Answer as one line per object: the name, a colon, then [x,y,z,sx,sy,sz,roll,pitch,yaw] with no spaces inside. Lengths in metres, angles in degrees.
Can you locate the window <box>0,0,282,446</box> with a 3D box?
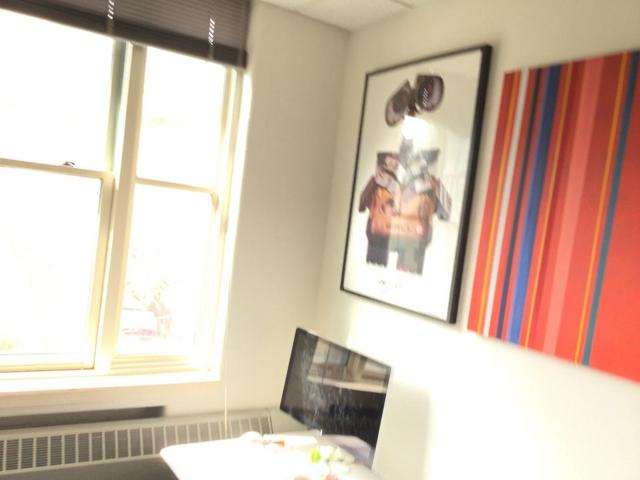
window: [-1.270,-0.230,2.090,2.080,1.880,0.370,7,3,-31]

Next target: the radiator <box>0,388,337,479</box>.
radiator: [-1.150,0.950,2.140,2.560,0.630,0.350,7,3,-31]

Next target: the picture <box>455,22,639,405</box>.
picture: [0.860,-0.080,1.490,0.070,0.980,1.170,7,3,-31]

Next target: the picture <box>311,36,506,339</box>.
picture: [0.300,-0.220,2.390,0.090,1.040,0.920,7,3,-31]
